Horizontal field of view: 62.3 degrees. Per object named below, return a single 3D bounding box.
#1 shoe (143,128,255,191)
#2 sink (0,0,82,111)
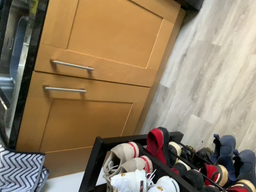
[{"bbox_3d":[0.440,0.410,0.970,0.770,0.250,0.150,33,109,41],"label":"shoe"},{"bbox_3d":[-0.480,-0.220,1.020,0.390,0.230,0.450,33,109,41],"label":"sink"}]
